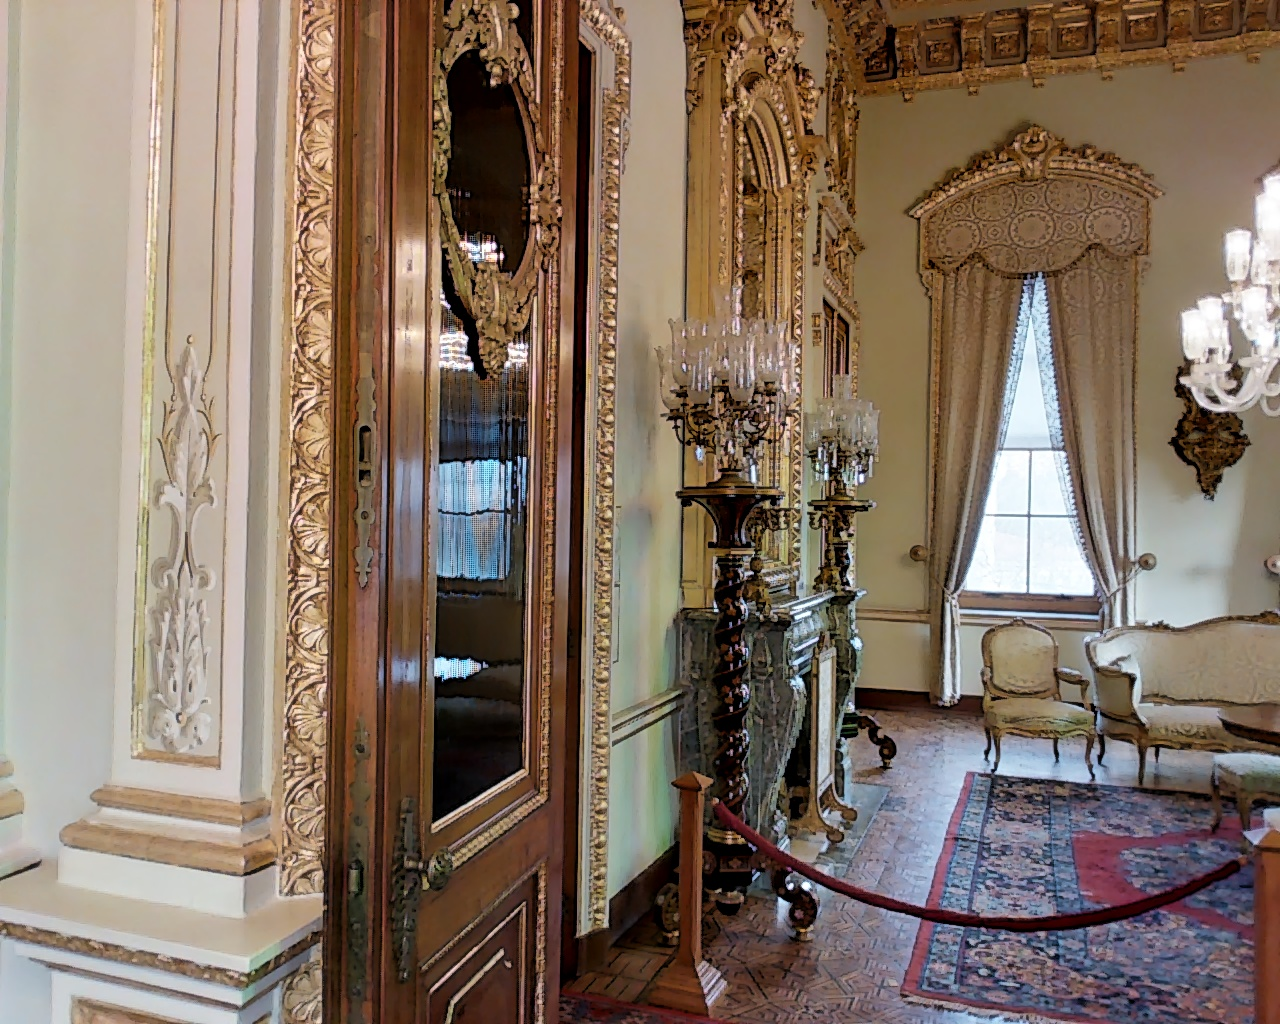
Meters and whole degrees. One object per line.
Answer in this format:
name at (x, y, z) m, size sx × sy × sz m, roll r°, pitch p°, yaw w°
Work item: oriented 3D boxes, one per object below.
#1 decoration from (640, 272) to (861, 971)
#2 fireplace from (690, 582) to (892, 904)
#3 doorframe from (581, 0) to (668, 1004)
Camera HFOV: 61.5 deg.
decoration at (0.490, 0.420, 4.590) m, size 0.740 × 2.701 × 0.640 m, roll 1°, pitch 0°, yaw 21°
fireplace at (0.950, 1.131, 6.100) m, size 0.590 × 1.321 × 2.360 m, roll 1°, pitch 0°, yaw 21°
doorframe at (-0.050, -0.110, 4.090) m, size 0.090 × 3.752 × 0.460 m, roll 1°, pitch 0°, yaw 21°
